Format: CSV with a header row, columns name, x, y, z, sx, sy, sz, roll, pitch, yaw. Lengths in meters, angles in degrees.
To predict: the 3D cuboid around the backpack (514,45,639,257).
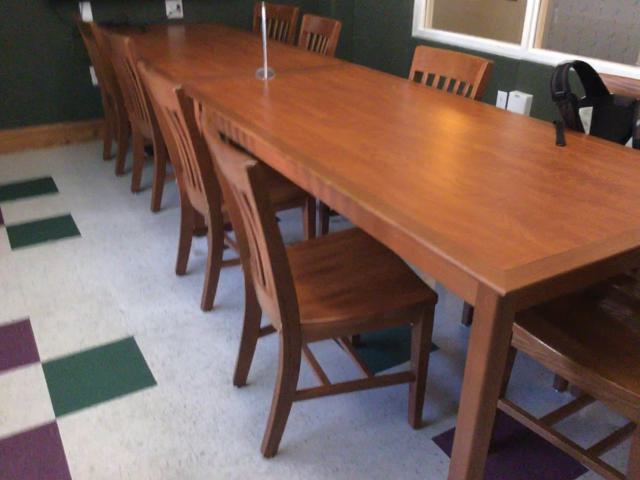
name,x,y,z,sx,sy,sz,roll,pitch,yaw
backpack,0.910,-0.290,1.780,0.290,0.510,0.440,-23,36,-36
